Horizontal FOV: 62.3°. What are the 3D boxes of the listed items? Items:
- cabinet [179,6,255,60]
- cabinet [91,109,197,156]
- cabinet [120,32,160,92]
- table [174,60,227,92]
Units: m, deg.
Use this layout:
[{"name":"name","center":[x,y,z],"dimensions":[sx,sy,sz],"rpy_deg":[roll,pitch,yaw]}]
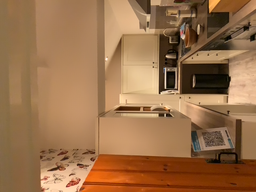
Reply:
[{"name":"cabinet","center":[1.380,-0.950,3.460],"dimensions":[1.140,0.890,0.590],"rpy_deg":[-30,-60,-85]},{"name":"cabinet","center":[0.140,0.300,1.940],"dimensions":[0.500,0.840,0.310],"rpy_deg":[-29,-61,-85]},{"name":"cabinet","center":[0.250,-0.700,4.500],"dimensions":[0.330,0.800,1.200],"rpy_deg":[-24,-66,-86]},{"name":"table","center":[1.430,-0.390,4.320],"dimensions":[0.550,0.900,0.590],"rpy_deg":[-24,-66,-86]}]
